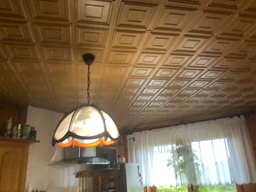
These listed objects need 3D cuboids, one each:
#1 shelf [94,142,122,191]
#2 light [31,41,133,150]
[{"bbox_3d":[-0.330,1.320,3.450,0.320,1.060,0.320,-15,-23,31],"label":"shelf"},{"bbox_3d":[-0.350,0.010,1.610,0.570,0.630,0.480,-8,-18,-14],"label":"light"}]
